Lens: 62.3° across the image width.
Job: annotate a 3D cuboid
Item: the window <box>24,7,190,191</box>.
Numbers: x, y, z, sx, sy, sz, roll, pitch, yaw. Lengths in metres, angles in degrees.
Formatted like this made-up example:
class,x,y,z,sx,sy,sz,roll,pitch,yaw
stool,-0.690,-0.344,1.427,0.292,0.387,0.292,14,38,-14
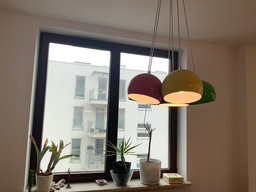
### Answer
class,x,y,z,sx,sy,sz,roll,pitch,yaw
window,-0.120,0.130,2.450,1.800,1.850,0.290,5,-6,-22
